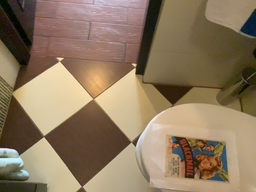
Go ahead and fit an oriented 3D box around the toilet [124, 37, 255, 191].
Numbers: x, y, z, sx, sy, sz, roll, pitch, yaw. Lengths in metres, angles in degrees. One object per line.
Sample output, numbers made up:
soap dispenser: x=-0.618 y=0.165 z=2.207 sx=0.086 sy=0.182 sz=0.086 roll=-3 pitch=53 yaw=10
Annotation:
toilet: x=0.350 y=0.220 z=0.790 sx=0.670 sy=0.780 sz=0.390 roll=5 pitch=67 yaw=-2
